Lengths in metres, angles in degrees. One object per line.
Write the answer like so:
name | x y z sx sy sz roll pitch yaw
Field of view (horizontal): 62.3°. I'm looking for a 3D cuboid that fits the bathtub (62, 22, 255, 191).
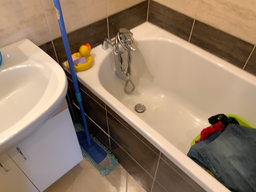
bathtub | 0.450 0.300 1.170 0.700 0.600 1.660 -35 57 -29
